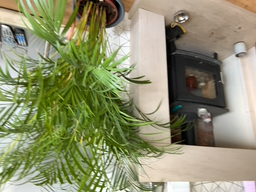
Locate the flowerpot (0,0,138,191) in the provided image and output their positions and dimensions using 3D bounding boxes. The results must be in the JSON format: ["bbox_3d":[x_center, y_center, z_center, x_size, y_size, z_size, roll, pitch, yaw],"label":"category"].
[{"bbox_3d":[-0.370,-0.190,1.130,0.650,1.330,0.550,9,159,-24],"label":"flowerpot"}]
